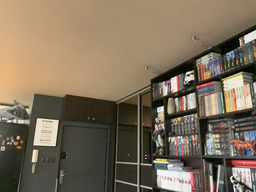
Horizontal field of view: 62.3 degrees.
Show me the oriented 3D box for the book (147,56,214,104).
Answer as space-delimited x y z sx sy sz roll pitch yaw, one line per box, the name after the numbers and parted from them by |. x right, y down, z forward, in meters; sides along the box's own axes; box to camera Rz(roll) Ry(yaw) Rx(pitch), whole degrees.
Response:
0.620 -0.160 2.700 0.350 0.330 0.820 10 -17 -27 | book

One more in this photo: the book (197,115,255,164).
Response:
0.970 0.380 1.800 0.200 0.360 0.790 10 -17 -27 | book

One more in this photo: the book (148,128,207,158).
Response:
0.530 0.560 2.470 0.180 0.290 0.800 10 -17 -27 | book

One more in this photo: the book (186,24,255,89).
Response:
0.930 -0.330 2.000 0.220 0.300 0.820 10 -17 -27 | book

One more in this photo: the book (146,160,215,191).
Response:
0.560 0.920 2.450 0.320 0.320 0.790 10 -17 -27 | book
